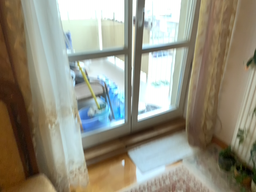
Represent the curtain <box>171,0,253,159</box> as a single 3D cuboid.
[{"bbox_3d":[0.750,-0.580,1.870,0.320,2.520,0.400,-9,28,-18],"label":"curtain"}]
